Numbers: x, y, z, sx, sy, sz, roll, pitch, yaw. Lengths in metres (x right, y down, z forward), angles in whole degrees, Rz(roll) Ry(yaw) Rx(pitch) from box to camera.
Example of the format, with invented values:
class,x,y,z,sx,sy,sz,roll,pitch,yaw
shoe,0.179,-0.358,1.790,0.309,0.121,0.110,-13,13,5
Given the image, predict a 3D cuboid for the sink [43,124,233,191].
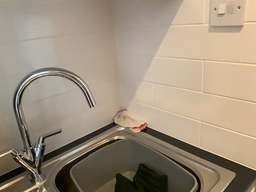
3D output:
class,x,y,z,sx,sy,sz,roll,pitch,yaw
sink,0.010,0.300,0.670,0.340,0.170,0.470,-22,27,-38
